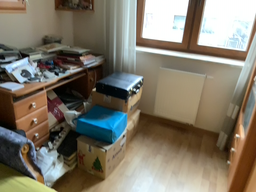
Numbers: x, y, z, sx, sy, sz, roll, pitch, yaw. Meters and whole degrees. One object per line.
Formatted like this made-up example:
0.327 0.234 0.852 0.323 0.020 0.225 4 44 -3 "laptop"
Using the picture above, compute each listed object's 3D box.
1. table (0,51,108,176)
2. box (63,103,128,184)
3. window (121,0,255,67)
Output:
-0.850 0.030 2.350 0.640 0.740 1.410 13 25 20 "table"
-0.280 0.410 1.940 0.440 0.510 0.410 10 24 12 "box"
0.710 -1.150 2.240 1.540 1.450 0.150 12 24 18 "window"
